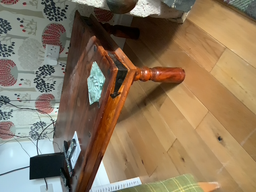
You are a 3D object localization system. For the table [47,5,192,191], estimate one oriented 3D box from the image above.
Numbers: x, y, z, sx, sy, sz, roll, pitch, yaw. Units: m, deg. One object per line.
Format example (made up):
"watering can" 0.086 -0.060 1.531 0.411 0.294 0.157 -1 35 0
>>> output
"table" -0.210 0.160 1.400 0.680 0.400 1.190 58 138 41
